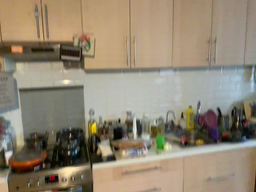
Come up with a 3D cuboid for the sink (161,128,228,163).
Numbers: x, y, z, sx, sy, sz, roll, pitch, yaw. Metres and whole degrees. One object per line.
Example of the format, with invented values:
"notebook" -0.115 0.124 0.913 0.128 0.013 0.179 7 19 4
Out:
"sink" 0.660 0.490 2.200 0.490 0.150 0.460 -3 10 -15
